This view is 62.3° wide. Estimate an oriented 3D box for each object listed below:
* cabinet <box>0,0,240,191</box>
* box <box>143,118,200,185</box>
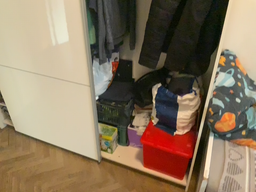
[{"bbox_3d":[-0.320,-0.550,1.460,1.870,2.170,0.650,13,36,18],"label":"cabinet"},{"bbox_3d":[0.320,0.410,1.600,0.340,0.330,0.260,13,36,17],"label":"box"}]
